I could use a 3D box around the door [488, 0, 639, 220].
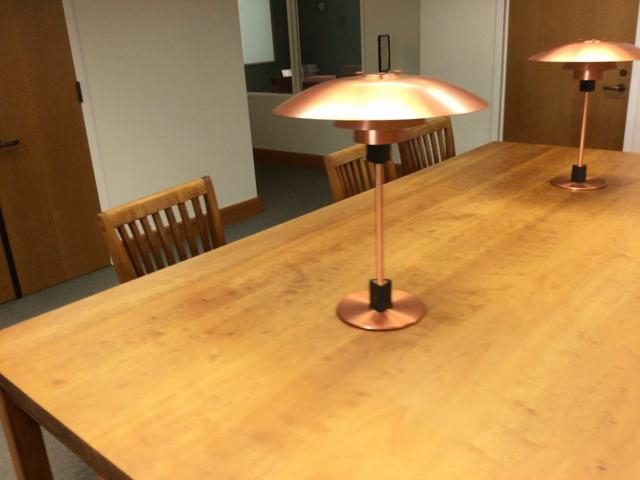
[{"bbox_3d":[1.730,-1.040,4.030,0.960,1.650,0.300,14,24,41],"label":"door"}]

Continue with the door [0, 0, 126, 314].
[{"bbox_3d":[-1.810,-0.630,2.990,0.270,2.060,1.300,14,24,41],"label":"door"}]
